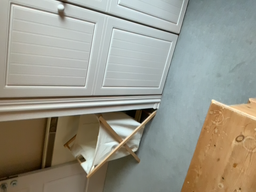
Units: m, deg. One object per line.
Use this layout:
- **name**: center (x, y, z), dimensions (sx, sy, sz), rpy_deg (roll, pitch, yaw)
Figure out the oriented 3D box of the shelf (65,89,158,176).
- **shelf**: center (-0.160, 0.280, 1.920), dimensions (0.470, 0.560, 0.530), rpy_deg (35, 116, 41)
